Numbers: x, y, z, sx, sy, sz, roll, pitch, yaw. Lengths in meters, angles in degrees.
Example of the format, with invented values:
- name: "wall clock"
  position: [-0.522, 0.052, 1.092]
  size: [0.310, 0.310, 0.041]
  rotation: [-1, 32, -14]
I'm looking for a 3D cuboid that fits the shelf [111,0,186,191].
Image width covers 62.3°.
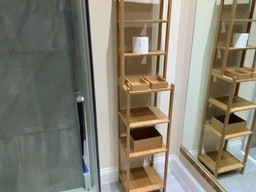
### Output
- name: "shelf"
  position: [0.110, 0.050, 1.600]
  size: [0.380, 1.630, 0.310]
  rotation: [-7, 23, -17]
